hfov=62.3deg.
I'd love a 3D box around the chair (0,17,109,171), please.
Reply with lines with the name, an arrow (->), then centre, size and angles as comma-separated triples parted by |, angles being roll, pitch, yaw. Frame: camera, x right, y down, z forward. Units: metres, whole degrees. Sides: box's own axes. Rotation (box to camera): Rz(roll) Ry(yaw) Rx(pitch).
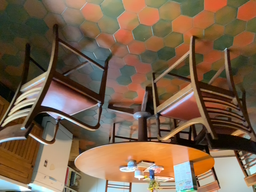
chair -> -0.530, 0.000, 1.600 | 0.480, 0.910, 0.550 | -20, 140, 28

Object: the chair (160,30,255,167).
chair -> 0.570, 0.020, 1.630 | 0.430, 0.870, 0.500 | 10, 145, -12

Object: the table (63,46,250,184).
table -> 0.150, 0.370, 2.290 | 1.370, 0.720, 1.320 | 13, 144, -17
